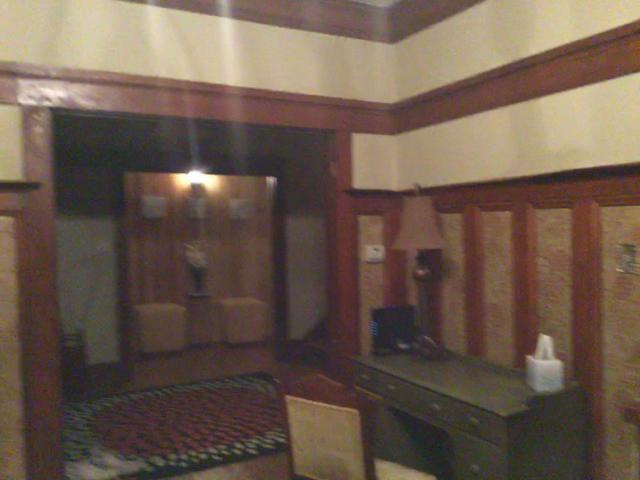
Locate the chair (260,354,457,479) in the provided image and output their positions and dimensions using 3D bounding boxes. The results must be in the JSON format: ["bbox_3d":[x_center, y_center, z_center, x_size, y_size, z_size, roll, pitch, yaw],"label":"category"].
[{"bbox_3d":[0.160,0.950,2.260,0.570,0.880,0.520,-2,-2,38],"label":"chair"}]

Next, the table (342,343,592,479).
[{"bbox_3d":[0.620,0.980,2.710,0.550,0.810,1.060,0,-2,-29],"label":"table"}]
